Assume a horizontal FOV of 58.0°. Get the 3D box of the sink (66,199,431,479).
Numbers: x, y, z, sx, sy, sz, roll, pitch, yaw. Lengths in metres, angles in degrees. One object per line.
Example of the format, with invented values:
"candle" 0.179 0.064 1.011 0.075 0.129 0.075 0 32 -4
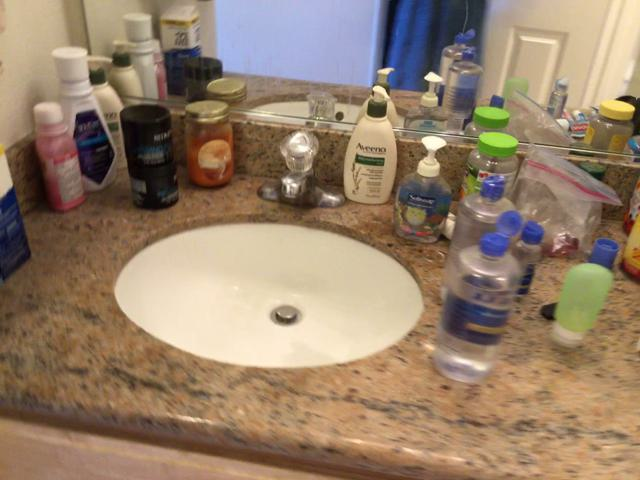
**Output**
"sink" -0.070 0.120 0.850 0.420 0.160 0.340 10 33 9
